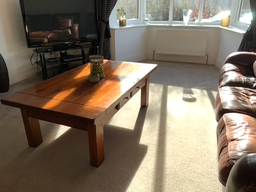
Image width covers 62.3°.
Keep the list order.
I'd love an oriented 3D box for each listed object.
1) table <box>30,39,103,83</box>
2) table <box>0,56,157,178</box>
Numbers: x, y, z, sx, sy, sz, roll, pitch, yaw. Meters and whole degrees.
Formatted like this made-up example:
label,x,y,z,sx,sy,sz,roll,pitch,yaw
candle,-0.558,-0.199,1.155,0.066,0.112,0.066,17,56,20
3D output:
label,x,y,z,sx,sy,sz,roll,pitch,yaw
table,-1.010,-0.630,3.610,1.060,0.500,0.460,-17,29,-34
table,-0.310,0.020,2.090,0.810,0.470,1.410,9,25,21
